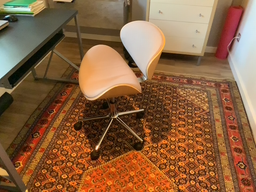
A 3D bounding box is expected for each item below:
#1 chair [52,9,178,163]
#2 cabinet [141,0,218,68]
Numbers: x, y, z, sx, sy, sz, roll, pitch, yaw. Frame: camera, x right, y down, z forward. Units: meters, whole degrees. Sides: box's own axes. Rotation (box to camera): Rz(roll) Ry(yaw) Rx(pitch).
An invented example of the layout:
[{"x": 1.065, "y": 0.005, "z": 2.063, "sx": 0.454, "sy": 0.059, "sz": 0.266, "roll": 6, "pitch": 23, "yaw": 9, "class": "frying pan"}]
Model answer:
[{"x": -0.130, "y": -0.080, "z": 1.530, "sx": 0.620, "sy": 0.840, "sz": 0.620, "roll": -8, "pitch": 41, "yaw": -12, "class": "chair"}, {"x": 0.560, "y": -0.960, "z": 2.370, "sx": 0.690, "sy": 1.140, "sz": 0.450, "roll": 9, "pitch": 41, "yaw": 8, "class": "cabinet"}]
